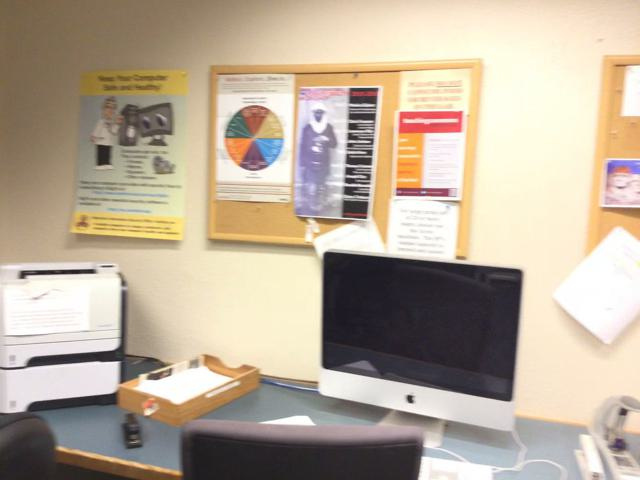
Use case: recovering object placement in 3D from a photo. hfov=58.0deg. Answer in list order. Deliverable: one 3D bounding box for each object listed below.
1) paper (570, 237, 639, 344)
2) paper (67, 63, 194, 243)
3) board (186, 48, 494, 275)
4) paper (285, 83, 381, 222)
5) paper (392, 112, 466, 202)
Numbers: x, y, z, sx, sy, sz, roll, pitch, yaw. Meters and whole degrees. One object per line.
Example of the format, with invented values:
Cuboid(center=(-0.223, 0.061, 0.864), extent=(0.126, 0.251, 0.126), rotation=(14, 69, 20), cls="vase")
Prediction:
Cuboid(center=(0.850, 0.140, 1.660), extent=(0.230, 0.300, 0.070), rotation=(3, -34, 17), cls="paper")
Cuboid(center=(-0.710, -0.320, 2.140), extent=(0.500, 0.630, 0.050), rotation=(4, 5, 16), cls="paper")
Cuboid(center=(0.030, -0.260, 1.900), extent=(1.000, 0.670, 0.080), rotation=(4, 5, 16), cls="board")
Cuboid(center=(0.040, -0.280, 1.870), extent=(0.290, 0.430, 0.060), rotation=(4, 5, 16), cls="paper")
Cuboid(center=(0.340, -0.260, 1.810), extent=(0.210, 0.270, 0.050), rotation=(4, 5, 16), cls="paper")
